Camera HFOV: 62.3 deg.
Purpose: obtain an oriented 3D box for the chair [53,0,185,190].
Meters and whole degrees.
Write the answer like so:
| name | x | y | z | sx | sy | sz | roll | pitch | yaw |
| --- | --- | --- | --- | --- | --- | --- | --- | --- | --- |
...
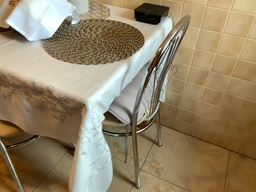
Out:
| name | x | y | z | sx | sy | sz | roll | pitch | yaw |
| --- | --- | --- | --- | --- | --- | --- | --- | --- | --- |
| chair | -0.030 | 0.030 | 1.040 | 0.350 | 0.810 | 0.360 | 21 | 44 | 20 |
